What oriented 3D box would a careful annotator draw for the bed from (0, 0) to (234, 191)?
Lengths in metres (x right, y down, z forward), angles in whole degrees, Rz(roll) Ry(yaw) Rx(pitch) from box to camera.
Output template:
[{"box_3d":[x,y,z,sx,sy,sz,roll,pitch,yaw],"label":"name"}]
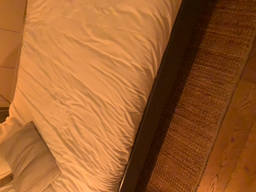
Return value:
[{"box_3d":[-0.370,-0.130,1.630,1.560,0.550,2.070,32,111,40],"label":"bed"}]
